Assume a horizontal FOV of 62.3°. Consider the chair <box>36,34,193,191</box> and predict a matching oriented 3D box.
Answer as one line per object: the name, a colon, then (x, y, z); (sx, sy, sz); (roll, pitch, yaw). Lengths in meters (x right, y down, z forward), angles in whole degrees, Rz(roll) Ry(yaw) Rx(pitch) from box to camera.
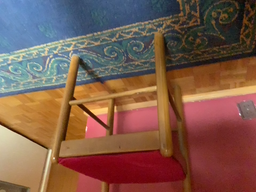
chair: (0.010, 0.280, 0.880); (0.420, 0.830, 0.530); (-9, 147, 21)
